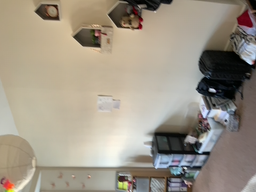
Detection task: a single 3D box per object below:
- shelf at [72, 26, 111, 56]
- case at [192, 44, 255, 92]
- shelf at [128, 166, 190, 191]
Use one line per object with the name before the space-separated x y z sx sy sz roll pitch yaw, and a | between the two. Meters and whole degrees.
shelf | -0.390 -0.590 2.300 0.130 0.390 0.250 -94 9 -49
case | 1.060 -0.320 2.430 0.350 0.450 0.390 -94 10 -51
shelf | 0.550 1.610 3.890 0.400 1.020 0.480 -154 68 -83
